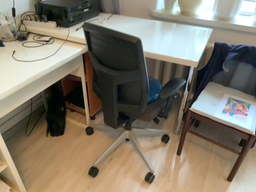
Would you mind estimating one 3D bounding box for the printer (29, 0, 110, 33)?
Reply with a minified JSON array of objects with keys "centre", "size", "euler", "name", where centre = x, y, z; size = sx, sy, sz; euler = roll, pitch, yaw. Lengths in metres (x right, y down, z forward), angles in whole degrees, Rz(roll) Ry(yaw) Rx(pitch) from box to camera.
[{"centre":[-0.450,-0.700,1.730],"size":[0.380,0.160,0.510],"euler":[18,38,22],"name":"printer"}]
